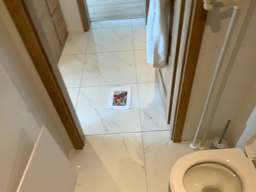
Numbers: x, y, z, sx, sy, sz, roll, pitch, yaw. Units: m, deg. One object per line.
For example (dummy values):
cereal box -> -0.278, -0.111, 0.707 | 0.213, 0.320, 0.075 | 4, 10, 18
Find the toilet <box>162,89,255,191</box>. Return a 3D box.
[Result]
toilet -> 0.480, 0.410, 1.090 | 0.510, 0.880, 0.360 | -4, 46, 1
